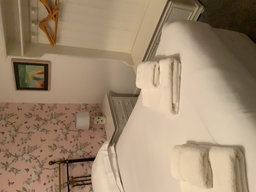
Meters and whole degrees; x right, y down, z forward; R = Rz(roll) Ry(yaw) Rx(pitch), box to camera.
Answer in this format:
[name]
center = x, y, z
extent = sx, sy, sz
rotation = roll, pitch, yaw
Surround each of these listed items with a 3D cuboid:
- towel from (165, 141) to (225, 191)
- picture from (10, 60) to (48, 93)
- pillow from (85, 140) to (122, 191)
[towel]
center = 0.320, 0.350, 1.070
extent = 0.270, 0.120, 0.230
rotation = 148, 120, -65
[picture]
center = -1.270, -0.230, 2.760
extent = 0.510, 0.410, 0.050
rotation = 113, 150, -43
[pillow]
center = -0.280, 0.910, 2.310
extent = 0.370, 0.250, 0.760
rotation = 112, 151, -42
